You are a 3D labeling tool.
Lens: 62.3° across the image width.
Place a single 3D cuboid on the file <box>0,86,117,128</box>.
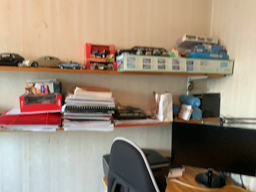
[{"bbox_3d":[-0.430,0.060,1.380,0.670,0.220,0.230,1,6,-15],"label":"file"}]
